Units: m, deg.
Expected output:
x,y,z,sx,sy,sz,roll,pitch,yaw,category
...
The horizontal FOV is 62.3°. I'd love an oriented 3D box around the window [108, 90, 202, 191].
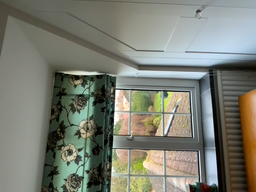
x,y,z,sx,sy,sz,roll,pitch,yaw,category
0.220,0.730,1.770,0.100,0.770,1.570,100,171,-75,window
